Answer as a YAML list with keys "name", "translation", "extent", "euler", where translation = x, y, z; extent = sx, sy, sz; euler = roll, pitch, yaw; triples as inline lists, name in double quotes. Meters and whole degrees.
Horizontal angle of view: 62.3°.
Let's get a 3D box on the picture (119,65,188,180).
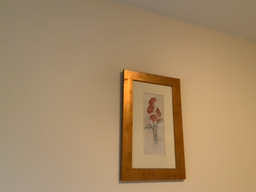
- name: "picture"
  translation: [0.100, 0.100, 0.860]
  extent: [0.270, 0.440, 0.030]
  euler: [6, -18, -17]
